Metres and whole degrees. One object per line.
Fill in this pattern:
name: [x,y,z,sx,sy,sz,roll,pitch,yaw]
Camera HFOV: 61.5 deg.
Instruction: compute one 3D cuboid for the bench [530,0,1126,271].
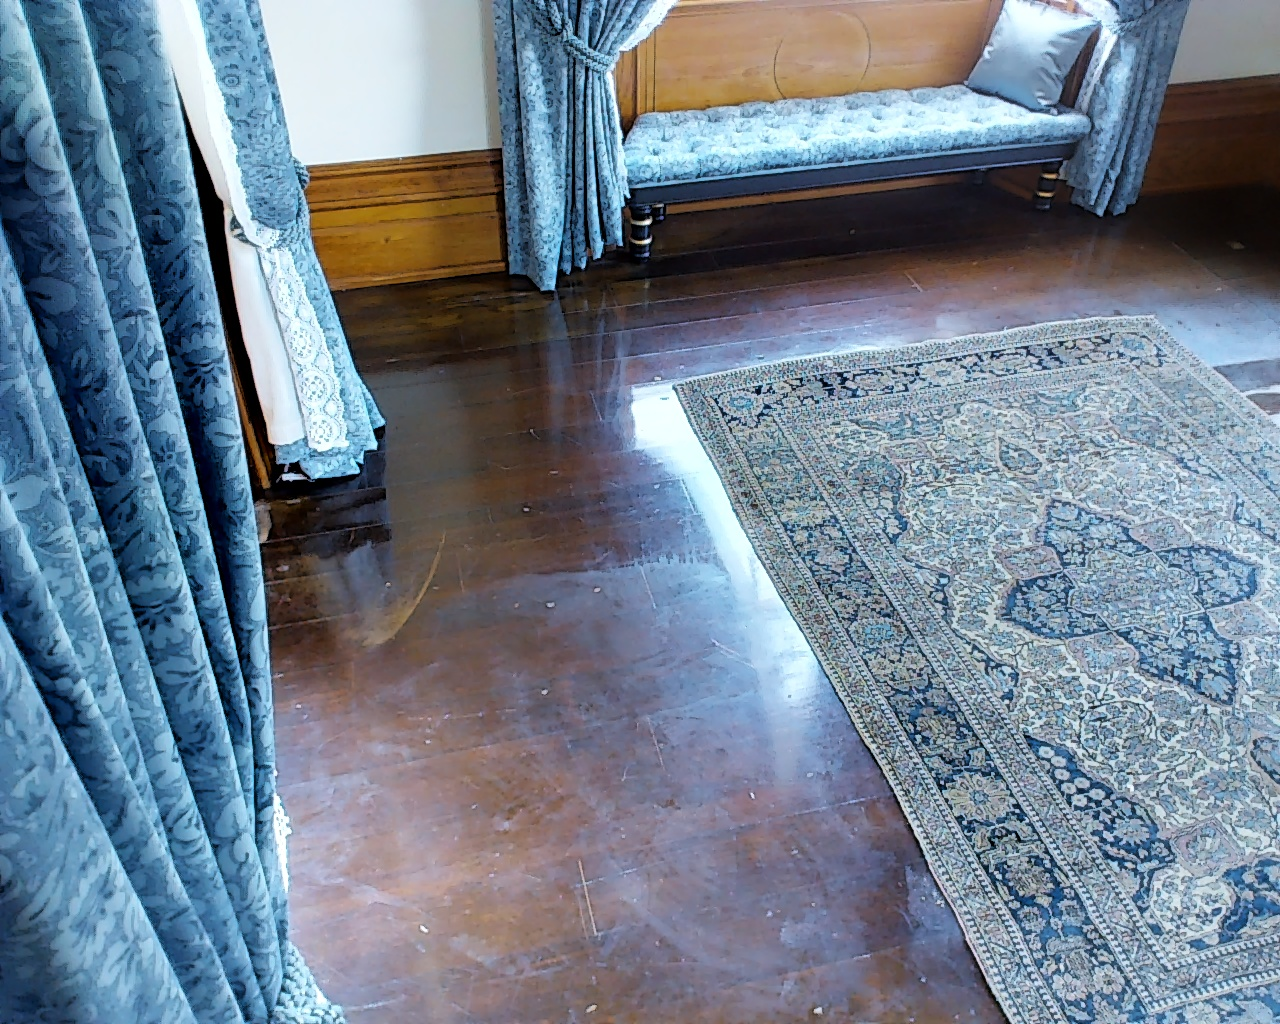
bench: [0.530,-1.200,3.260,1.630,0.600,0.430,-9,43,-9]
